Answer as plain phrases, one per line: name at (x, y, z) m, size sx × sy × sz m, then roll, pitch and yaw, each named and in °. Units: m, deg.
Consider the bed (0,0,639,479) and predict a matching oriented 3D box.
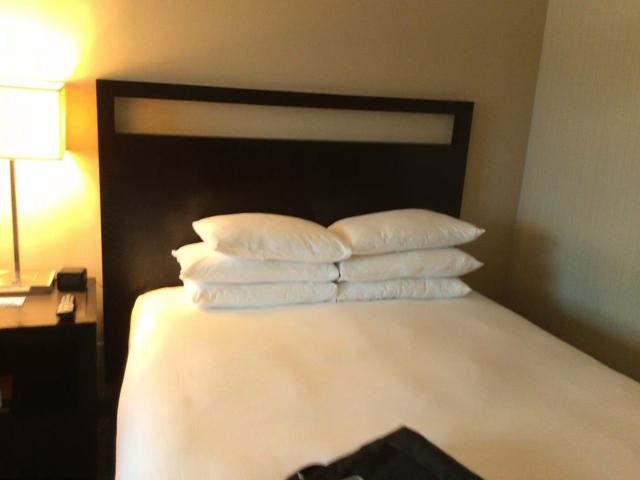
bed at (0.200, 0.300, 1.770) m, size 1.780 × 1.560 × 2.130 m, roll -2°, pitch 13°, yaw -20°
